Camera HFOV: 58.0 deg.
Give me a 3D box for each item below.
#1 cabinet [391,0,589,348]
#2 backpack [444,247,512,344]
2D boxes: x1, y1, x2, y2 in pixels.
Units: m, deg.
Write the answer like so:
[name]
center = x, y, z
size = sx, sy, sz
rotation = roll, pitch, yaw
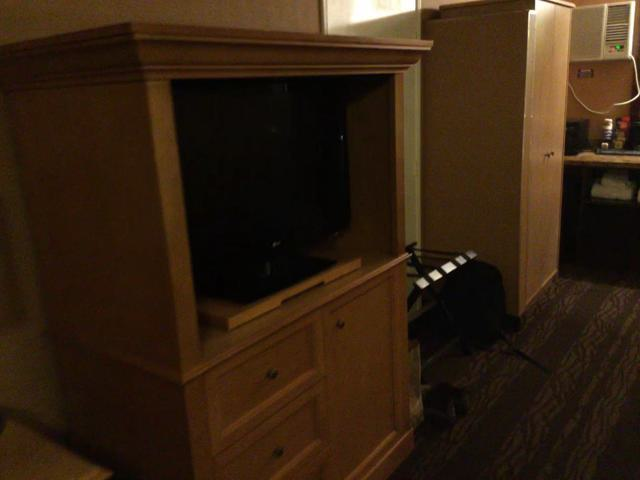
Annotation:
[cabinet]
center = 1.080, -0.550, 3.590
size = 0.680, 1.980, 1.260
rotation = 8, 18, 38
[backpack]
center = 0.910, 0.310, 3.350
size = 0.310, 0.470, 0.220
rotation = 8, 18, 37
